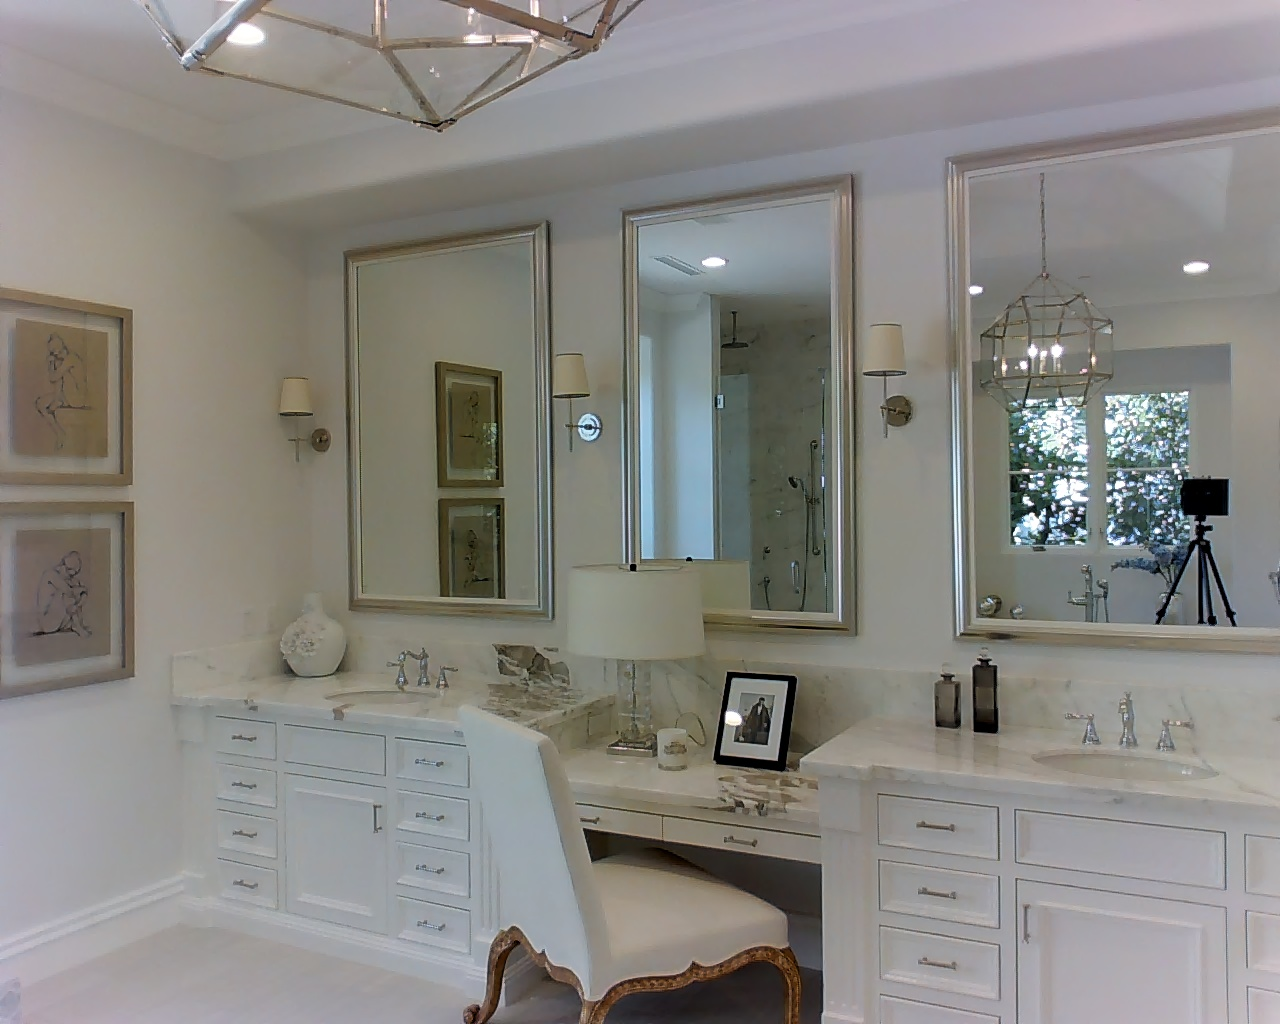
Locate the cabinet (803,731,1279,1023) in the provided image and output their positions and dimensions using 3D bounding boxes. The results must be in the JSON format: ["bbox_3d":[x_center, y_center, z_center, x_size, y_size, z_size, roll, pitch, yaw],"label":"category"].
[{"bbox_3d":[1.310,1.170,2.920,1.550,0.900,0.710,-1,0,28],"label":"cabinet"}]

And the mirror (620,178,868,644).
[{"bbox_3d":[0.350,-0.330,3.820,0.890,1.560,0.060,-1,0,28],"label":"mirror"}]

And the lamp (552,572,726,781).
[{"bbox_3d":[0.000,0.550,3.760,0.500,0.660,0.330,-1,0,28],"label":"lamp"}]

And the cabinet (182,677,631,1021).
[{"bbox_3d":[-0.900,1.180,4.110,1.550,0.910,0.740,-1,0,28],"label":"cabinet"}]
